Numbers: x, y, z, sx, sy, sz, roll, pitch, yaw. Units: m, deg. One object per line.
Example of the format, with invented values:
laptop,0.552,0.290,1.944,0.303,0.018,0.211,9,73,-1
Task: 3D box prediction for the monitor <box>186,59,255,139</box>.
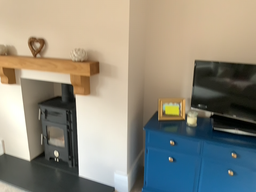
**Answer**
monitor,0.860,0.020,1.690,0.760,0.550,0.050,15,21,38
